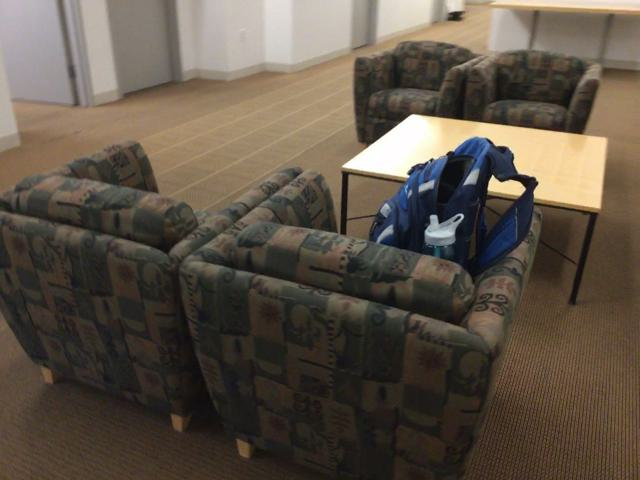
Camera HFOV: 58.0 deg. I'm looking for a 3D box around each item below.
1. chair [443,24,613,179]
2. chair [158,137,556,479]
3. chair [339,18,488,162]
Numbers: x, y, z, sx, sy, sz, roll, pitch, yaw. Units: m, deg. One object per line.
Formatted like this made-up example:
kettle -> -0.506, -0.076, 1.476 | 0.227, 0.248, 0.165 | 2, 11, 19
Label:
chair -> 1.310, -0.910, 3.670 | 0.820, 0.710, 0.680 | 13, 32, 22
chair -> 0.140, 0.230, 1.600 | 0.760, 0.720, 0.730 | 13, 32, 21
chair -> 0.630, -1.050, 3.930 | 0.770, 0.720, 0.700 | 13, 32, 22
